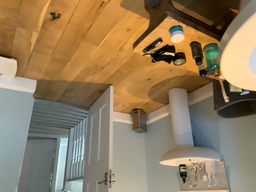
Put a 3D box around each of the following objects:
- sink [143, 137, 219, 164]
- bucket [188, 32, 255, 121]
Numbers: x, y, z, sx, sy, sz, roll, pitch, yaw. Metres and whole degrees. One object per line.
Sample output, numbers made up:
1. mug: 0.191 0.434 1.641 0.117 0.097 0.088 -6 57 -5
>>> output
1. sink: 0.520 0.590 2.210 0.430 0.160 0.650 12 153 -29
2. bucket: 0.880 -0.130 1.800 0.470 0.500 0.440 13 149 -30
